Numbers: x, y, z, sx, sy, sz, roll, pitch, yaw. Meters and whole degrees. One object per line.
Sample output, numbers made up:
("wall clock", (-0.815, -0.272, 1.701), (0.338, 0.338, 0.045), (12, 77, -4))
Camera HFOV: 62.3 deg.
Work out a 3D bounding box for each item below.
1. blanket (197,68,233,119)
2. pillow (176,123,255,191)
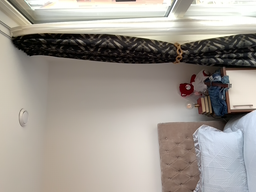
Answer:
("blanket", (0.910, 0.000, 2.280), (0.550, 0.090, 0.420), (97, 171, -75))
("pillow", (0.850, 0.660, 2.040), (0.660, 0.440, 0.180), (56, 172, 8))
